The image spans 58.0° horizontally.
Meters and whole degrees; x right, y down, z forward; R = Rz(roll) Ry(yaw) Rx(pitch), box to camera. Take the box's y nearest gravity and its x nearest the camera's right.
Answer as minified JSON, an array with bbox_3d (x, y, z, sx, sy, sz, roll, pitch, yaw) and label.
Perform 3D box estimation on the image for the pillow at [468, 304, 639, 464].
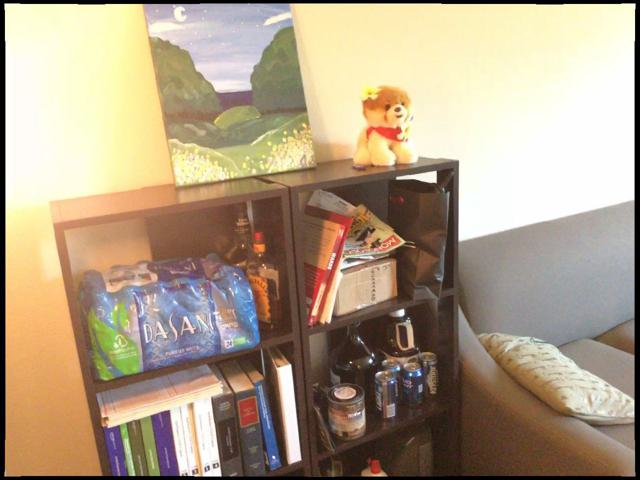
[{"bbox_3d":[0.758,0.431,1.840,0.389,0.190,0.470,-10,23,-9],"label":"pillow"}]

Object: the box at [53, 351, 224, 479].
[{"bbox_3d":[-0.449,0.521,1.460,0.320,0.321,0.220,-17,25,-26],"label":"box"}]

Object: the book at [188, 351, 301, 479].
[{"bbox_3d":[-0.200,0.491,1.550,0.220,0.280,0.160,-17,25,-26],"label":"book"}]
